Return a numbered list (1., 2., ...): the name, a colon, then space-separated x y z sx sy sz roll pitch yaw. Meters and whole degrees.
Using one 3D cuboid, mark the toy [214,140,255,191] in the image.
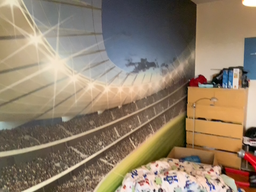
1. toy: 1.480 0.950 2.900 0.490 0.540 0.320 4 11 33
